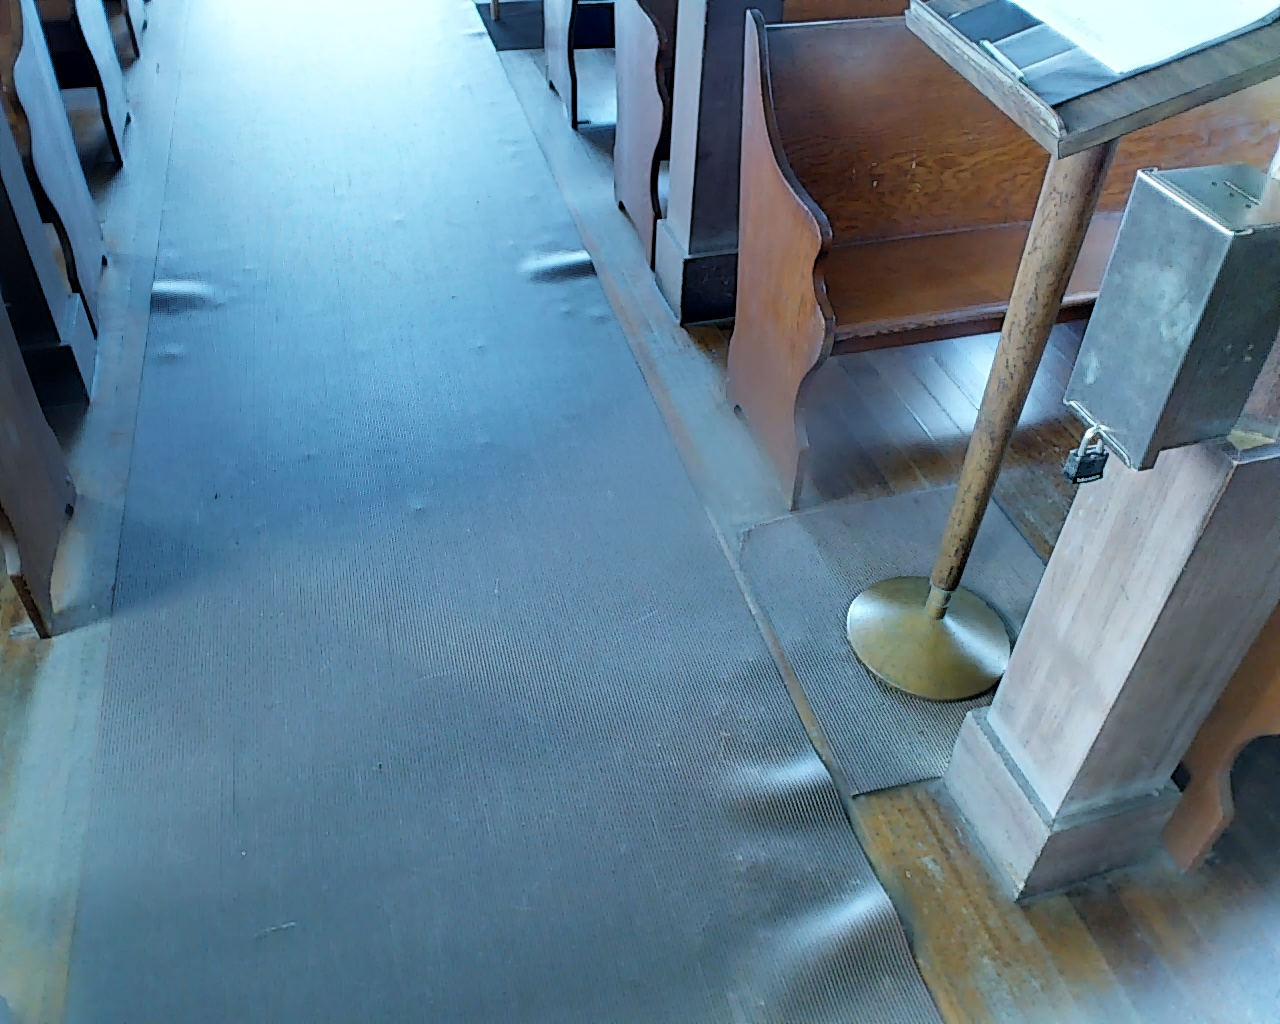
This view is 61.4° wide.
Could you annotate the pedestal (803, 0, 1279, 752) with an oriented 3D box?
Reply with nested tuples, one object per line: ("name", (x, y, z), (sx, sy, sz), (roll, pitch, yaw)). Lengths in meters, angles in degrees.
("pedestal", (0.660, -0.230, 1.650), (0.530, 1.160, 0.480), (-9, 43, -13))
